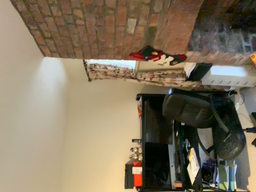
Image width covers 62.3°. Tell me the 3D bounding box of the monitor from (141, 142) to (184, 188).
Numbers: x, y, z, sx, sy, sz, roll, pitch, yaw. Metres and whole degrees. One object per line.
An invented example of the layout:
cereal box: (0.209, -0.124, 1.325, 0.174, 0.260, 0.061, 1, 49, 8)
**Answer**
monitor: (0.500, 1.010, 3.170, 0.040, 0.600, 0.650, 84, -173, -61)

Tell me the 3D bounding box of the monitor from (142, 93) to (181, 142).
monitor: (0.520, 0.340, 3.330, 0.040, 0.590, 0.750, -163, 75, -88)

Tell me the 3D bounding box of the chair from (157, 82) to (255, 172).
chair: (1.000, 0.370, 2.390, 0.710, 1.170, 0.720, 95, 176, -53)
